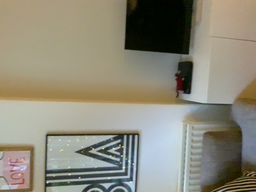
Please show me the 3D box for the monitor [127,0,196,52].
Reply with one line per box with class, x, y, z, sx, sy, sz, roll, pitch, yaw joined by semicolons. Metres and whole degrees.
monitor;0.270;-0.820;1.660;0.070;0.550;0.910;-160;70;-75
